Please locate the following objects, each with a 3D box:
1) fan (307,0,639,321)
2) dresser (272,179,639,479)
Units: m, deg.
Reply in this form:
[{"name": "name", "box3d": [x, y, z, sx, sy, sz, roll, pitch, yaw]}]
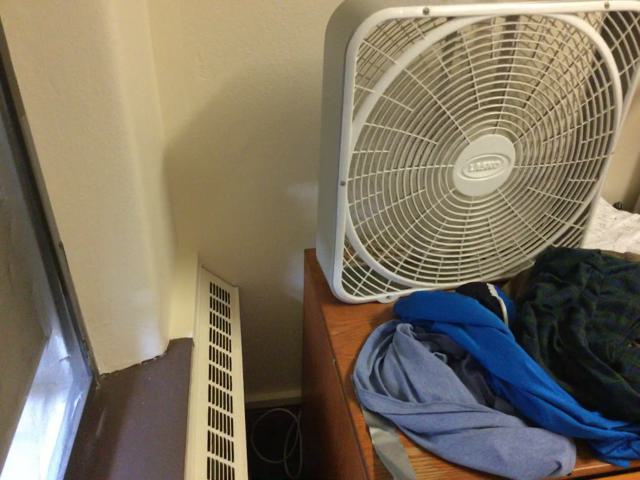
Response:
[{"name": "fan", "box3d": [0.270, -0.180, 1.060, 0.560, 0.560, 0.290, -3, 33, -6]}, {"name": "dresser", "box3d": [0.390, 0.410, 1.250, 0.920, 0.820, 0.680, -3, 33, -6]}]
